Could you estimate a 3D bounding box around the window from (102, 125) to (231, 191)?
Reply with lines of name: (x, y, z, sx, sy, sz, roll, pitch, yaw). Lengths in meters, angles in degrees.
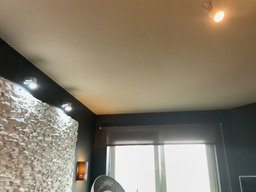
window: (0.580, 1.360, 3.470, 2.000, 1.690, 0.190, -2, -20, 8)
